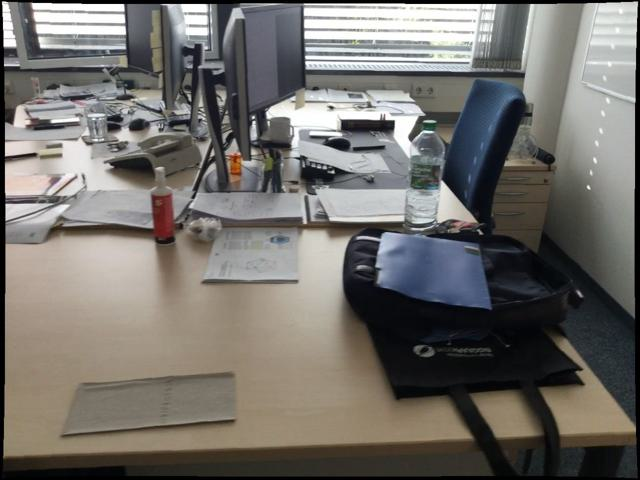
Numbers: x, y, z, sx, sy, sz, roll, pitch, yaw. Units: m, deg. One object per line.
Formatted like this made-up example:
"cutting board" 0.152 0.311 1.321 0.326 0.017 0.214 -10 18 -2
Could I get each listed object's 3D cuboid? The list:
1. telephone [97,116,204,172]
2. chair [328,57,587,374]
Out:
"telephone" -0.559 -0.330 1.960 0.290 0.100 0.310 -2 26 -4
"chair" 0.410 -0.120 2.180 0.689 1.001 0.650 -2 26 -4
